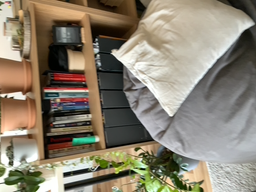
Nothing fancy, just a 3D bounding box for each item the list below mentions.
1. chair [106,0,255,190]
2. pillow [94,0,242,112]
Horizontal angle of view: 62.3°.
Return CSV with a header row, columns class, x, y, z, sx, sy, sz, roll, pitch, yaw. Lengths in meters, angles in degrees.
class,x,y,z,sx,sy,sz,roll,pitch,yaw
chair,0.420,-0.150,1.000,0.860,0.610,0.930,-24,71,54
pillow,0.190,-0.240,0.920,0.480,0.300,0.500,4,66,18
